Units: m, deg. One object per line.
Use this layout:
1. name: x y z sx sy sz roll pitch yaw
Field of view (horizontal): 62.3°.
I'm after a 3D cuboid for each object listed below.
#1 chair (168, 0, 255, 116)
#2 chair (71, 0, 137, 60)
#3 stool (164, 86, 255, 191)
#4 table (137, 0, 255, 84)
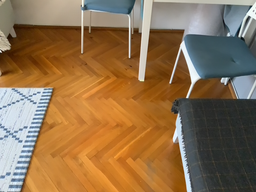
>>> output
1. chair: 0.610 -0.250 1.440 0.500 0.770 0.370 2 49 -1
2. chair: -0.180 -0.780 1.870 0.500 0.770 0.450 3 49 0
3. stool: 0.540 0.320 1.170 0.570 0.420 0.600 2 49 -1
4. table: 0.500 -0.660 1.790 0.790 0.760 0.770 3 49 0
